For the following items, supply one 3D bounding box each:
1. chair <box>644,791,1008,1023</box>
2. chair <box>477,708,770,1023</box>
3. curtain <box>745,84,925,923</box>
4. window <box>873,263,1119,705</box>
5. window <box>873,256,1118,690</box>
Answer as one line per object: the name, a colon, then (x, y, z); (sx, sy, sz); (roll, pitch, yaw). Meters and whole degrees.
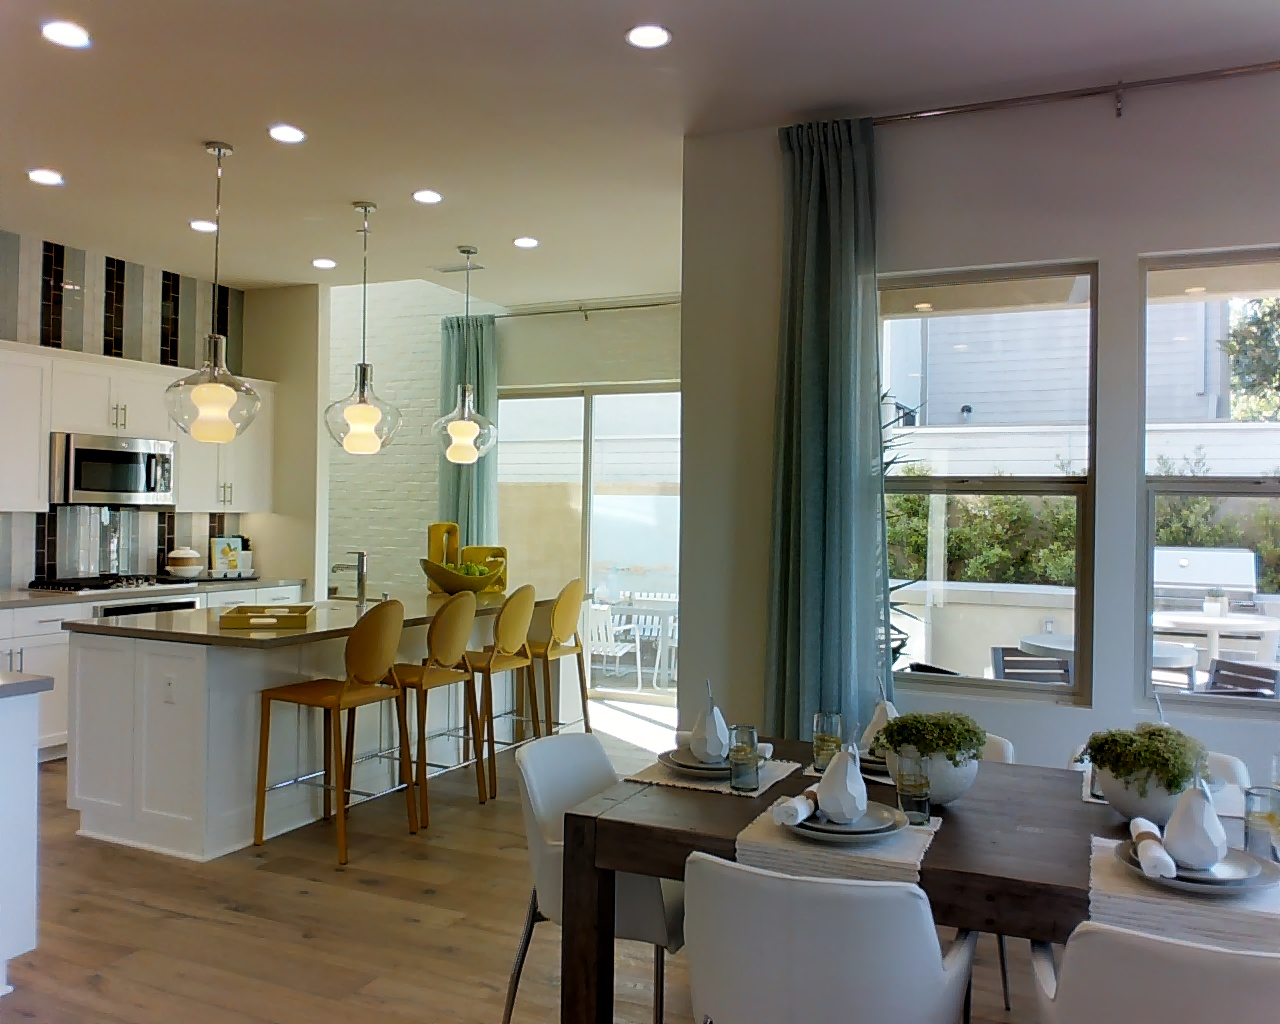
chair: (0.390, 1.030, 2.120); (0.610, 0.770, 0.530); (0, 0, 22)
chair: (-0.020, 1.020, 2.890); (0.570, 0.830, 0.640); (0, 0, 25)
curtain: (0.760, -0.030, 4.160); (0.620, 3.031, 0.340); (0, 0, 25)
window: (1.379, -0.100, 4.170); (0.880, 1.591, 0.280); (0, 0, 25)
window: (1.379, -0.140, 4.180); (0.880, 1.571, 0.260); (0, 0, 25)
